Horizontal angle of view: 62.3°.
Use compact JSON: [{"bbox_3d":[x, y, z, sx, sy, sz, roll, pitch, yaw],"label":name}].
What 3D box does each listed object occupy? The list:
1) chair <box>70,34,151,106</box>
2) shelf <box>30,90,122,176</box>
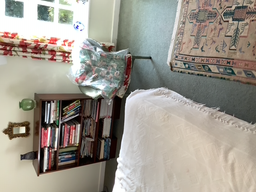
[{"bbox_3d":[-0.240,-0.310,2.460,0.660,0.620,0.610,37,122,51],"label":"chair"},{"bbox_3d":[-0.670,0.420,2.790,0.350,1.070,0.930,23,111,55],"label":"shelf"}]
